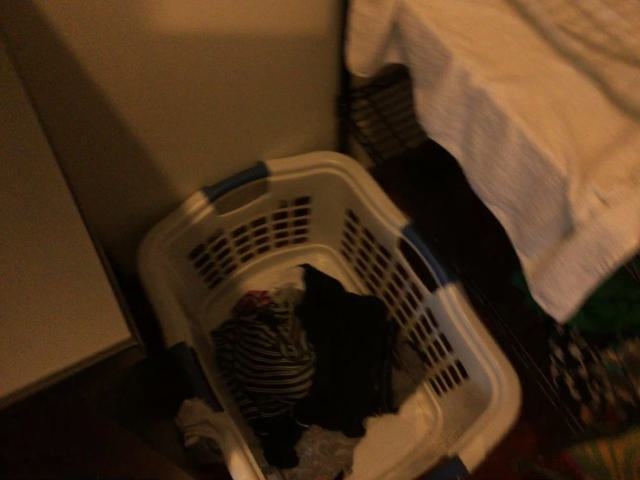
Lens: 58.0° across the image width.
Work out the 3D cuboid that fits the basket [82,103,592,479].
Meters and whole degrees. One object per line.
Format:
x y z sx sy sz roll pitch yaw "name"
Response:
0.000 0.190 1.090 0.560 0.360 0.650 -29 65 -15 "basket"
